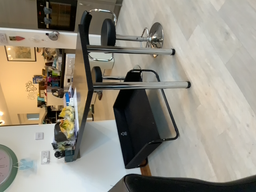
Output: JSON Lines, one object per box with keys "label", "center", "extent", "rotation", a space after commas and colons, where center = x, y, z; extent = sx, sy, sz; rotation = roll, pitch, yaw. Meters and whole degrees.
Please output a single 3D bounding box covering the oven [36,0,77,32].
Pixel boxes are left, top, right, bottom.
{"label": "oven", "center": [-1.230, -1.550, 3.610], "extent": [0.610, 0.600, 0.570], "rotation": [117, 146, -50]}
